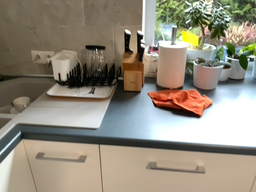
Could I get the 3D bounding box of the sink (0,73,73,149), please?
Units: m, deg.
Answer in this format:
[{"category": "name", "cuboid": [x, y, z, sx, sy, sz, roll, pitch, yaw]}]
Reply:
[{"category": "sink", "cuboid": [-0.670, 0.050, 1.200, 0.550, 0.190, 0.460, 3, 27, 6]}]
